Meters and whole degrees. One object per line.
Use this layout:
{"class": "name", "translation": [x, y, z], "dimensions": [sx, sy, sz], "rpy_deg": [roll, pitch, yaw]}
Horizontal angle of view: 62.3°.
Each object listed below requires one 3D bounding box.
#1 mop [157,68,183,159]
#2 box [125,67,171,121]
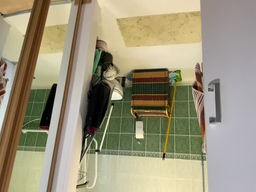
{"class": "mop", "translation": [0.610, 0.230, 3.010], "dimensions": [0.310, 1.240, 0.260], "rpy_deg": [-1, 160, 17]}
{"class": "box", "translation": [0.320, -0.010, 3.090], "dimensions": [0.570, 0.660, 0.440], "rpy_deg": [-1, 160, 16]}
